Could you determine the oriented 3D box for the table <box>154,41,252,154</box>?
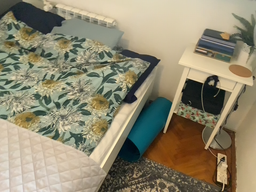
[{"bbox_3d":[0.550,0.020,1.660,0.460,0.700,0.360,21,40,14],"label":"table"}]
